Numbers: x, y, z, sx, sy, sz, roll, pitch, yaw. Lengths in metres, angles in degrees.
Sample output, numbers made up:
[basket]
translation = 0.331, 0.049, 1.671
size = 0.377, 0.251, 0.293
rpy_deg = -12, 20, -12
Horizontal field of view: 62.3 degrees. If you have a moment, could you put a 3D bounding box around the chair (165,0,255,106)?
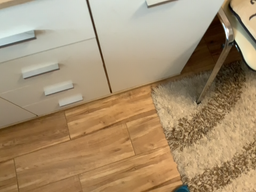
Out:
[chair]
translation = 0.550, -0.390, 0.860
size = 0.490, 0.810, 0.570
rpy_deg = -17, 75, -5
